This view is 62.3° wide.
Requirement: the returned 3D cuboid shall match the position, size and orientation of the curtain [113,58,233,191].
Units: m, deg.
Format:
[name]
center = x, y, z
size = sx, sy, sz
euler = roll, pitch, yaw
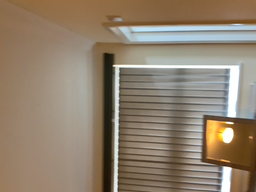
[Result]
[curtain]
center = 0.460, 0.520, 2.390
size = 0.040, 1.230, 1.840
euler = -33, -55, -82
